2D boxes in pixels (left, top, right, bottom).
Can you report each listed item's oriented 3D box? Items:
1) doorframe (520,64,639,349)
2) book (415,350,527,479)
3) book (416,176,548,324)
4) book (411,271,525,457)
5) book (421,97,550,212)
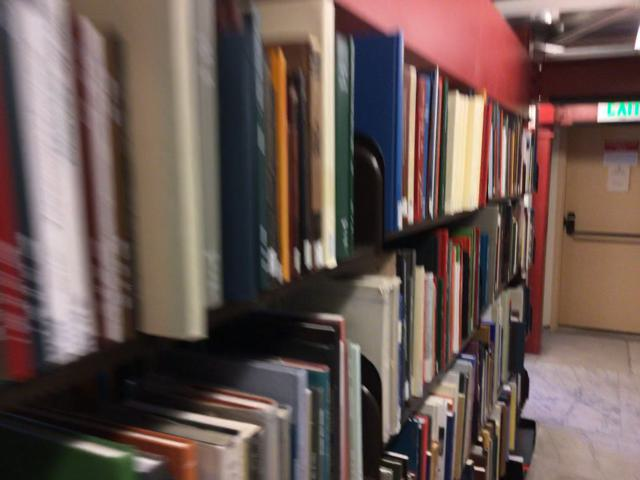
[{"bbox_3d":[2.280,-0.210,4.070,1.480,1.960,0.260,7,15,27],"label":"doorframe"},{"bbox_3d":[0.550,0.780,2.030,0.160,0.480,0.960,7,11,26],"label":"book"},{"bbox_3d":[0.720,-0.030,2.390,0.250,0.400,1.230,7,11,26],"label":"book"},{"bbox_3d":[0.560,0.400,2.100,0.220,0.420,0.700,7,11,26],"label":"book"},{"bbox_3d":[0.730,-0.360,2.370,0.240,0.350,1.240,7,11,26],"label":"book"}]
